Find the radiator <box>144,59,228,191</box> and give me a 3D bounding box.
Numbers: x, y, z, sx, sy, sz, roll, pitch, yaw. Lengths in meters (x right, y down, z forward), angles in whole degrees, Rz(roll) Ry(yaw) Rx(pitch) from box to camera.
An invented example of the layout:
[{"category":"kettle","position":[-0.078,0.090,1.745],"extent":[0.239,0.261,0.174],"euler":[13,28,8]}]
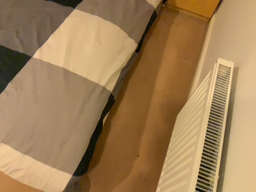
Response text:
[{"category":"radiator","position":[0.120,0.360,0.710],"extent":[0.090,0.460,0.910],"euler":[21,59,5]}]
